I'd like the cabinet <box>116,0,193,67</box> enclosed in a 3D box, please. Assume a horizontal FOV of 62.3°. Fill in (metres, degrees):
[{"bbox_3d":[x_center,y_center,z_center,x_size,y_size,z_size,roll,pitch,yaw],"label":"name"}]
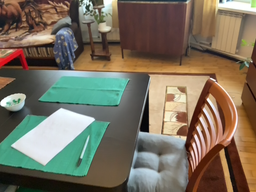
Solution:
[{"bbox_3d":[0.410,-1.040,3.320,0.990,0.890,0.520,12,36,22],"label":"cabinet"}]
